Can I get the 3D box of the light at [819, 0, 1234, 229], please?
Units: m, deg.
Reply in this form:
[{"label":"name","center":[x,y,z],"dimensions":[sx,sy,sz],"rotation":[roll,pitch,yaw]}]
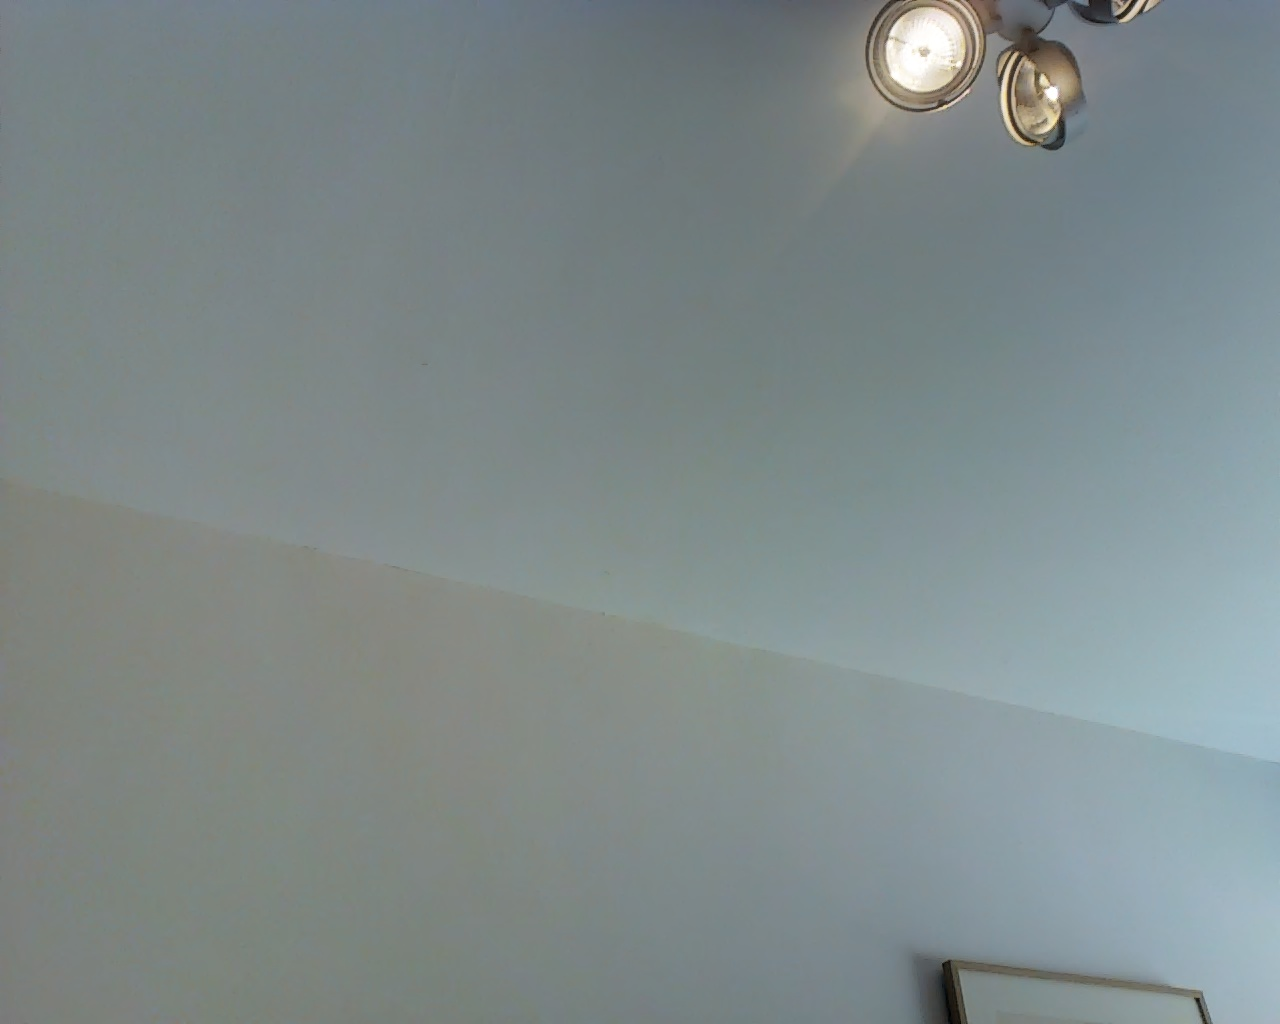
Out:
[{"label":"light","center":[0.440,-0.570,1.240],"dimensions":[0.320,0.300,0.210],"rotation":[30,46,0]}]
